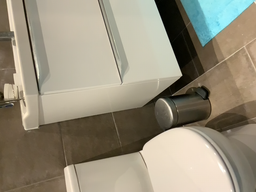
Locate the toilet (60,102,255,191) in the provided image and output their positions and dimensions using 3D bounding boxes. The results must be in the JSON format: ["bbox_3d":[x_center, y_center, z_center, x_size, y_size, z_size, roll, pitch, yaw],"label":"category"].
[{"bbox_3d":[0.190,0.340,0.870,0.680,0.790,0.380,-45,57,60],"label":"toilet"}]

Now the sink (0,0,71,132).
[{"bbox_3d":[-0.490,-0.390,1.010,0.450,0.190,1.020,-45,57,60],"label":"sink"}]

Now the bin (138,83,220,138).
[{"bbox_3d":[0.270,0.090,1.200,0.310,0.290,0.190,-43,59,61],"label":"bin"}]
